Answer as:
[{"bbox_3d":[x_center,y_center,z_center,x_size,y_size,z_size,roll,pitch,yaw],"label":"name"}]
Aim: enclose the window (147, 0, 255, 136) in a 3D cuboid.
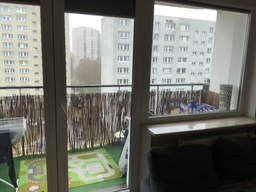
[{"bbox_3d":[0.950,-0.360,2.440,1.470,1.520,0.150,-2,11,-20],"label":"window"}]
